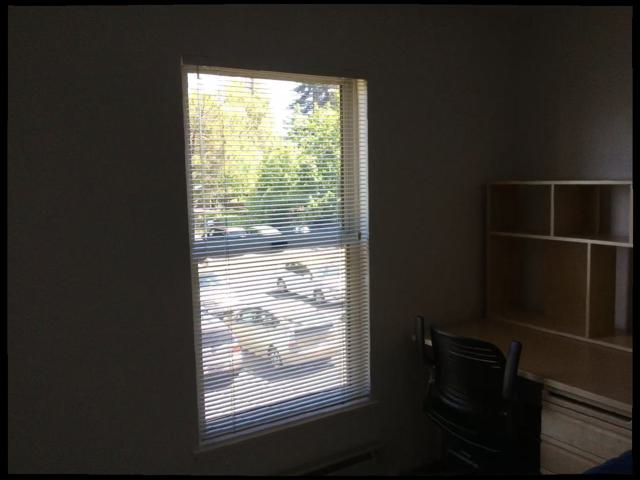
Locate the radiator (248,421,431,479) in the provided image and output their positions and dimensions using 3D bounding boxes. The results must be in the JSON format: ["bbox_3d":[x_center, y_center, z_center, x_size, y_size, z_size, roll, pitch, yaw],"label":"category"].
[{"bbox_3d":[-0.020,1.152,2.670,1.378,0.260,0.080,-6,8,-33],"label":"radiator"}]

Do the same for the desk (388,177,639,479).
[{"bbox_3d":[1.118,0.511,2.630,0.989,1.563,1.289,-6,8,-33],"label":"desk"}]

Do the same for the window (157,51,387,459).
[{"bbox_3d":[-0.160,0.040,2.600,1.009,1.603,0.200,-6,8,-33],"label":"window"}]
